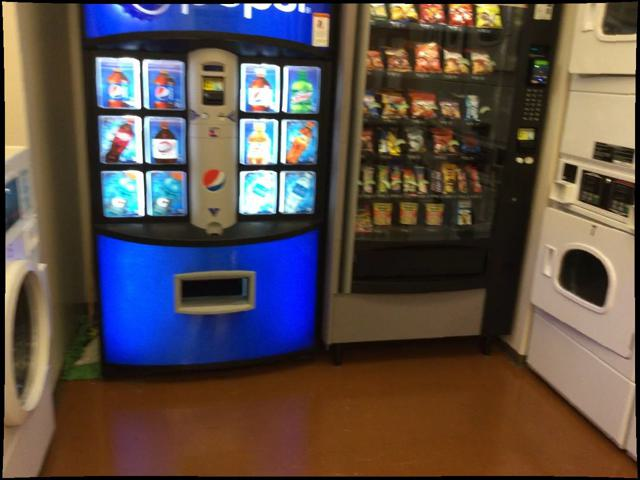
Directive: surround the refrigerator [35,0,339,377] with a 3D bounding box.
[{"bbox_3d":[-0.499,-0.280,2.510,1.049,1.591,0.350,-7,17,-12],"label":"refrigerator"}]
